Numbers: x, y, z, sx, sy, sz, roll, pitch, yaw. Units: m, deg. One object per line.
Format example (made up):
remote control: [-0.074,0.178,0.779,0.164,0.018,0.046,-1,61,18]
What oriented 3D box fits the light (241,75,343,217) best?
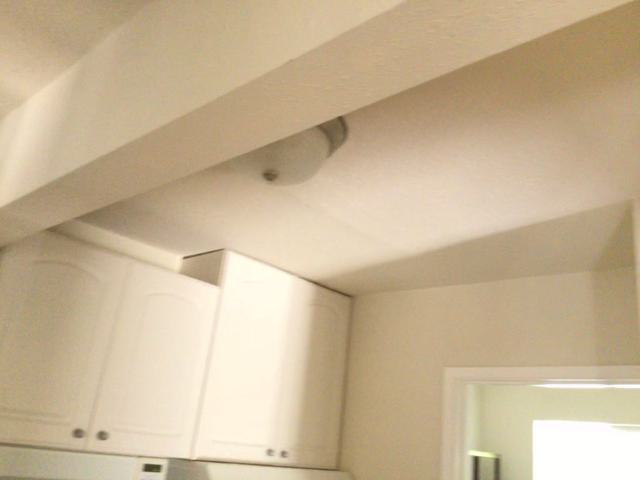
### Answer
light: [-0.060,-0.200,1.270,0.190,0.240,0.110,-15,-26,38]
